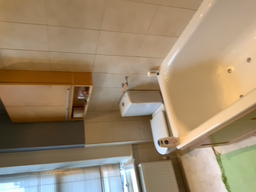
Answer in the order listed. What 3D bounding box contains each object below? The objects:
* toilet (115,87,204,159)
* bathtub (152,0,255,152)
[{"bbox_3d":[0.310,0.300,2.430,0.450,0.770,0.670,120,145,-56],"label":"toilet"},{"bbox_3d":[0.810,-0.260,1.350,1.690,0.580,0.750,120,145,-56],"label":"bathtub"}]
